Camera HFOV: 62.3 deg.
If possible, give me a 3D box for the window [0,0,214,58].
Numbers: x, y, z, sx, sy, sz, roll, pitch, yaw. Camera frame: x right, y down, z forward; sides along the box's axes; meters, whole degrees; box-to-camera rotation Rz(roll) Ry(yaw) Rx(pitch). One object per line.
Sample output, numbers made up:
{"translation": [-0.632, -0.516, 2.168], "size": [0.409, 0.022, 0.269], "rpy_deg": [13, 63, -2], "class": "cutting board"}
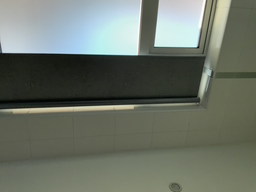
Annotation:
{"translation": [-0.390, -0.730, 1.320], "size": [2.050, 0.970, 0.060], "rpy_deg": [-2, -157, -12], "class": "window"}
